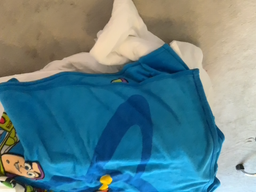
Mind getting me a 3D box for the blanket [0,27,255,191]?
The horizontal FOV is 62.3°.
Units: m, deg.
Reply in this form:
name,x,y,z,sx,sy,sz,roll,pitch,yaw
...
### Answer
name,x,y,z,sx,sy,sz,roll,pitch,yaw
blanket,-0.020,0.300,1.000,0.950,0.620,0.870,-8,133,5
